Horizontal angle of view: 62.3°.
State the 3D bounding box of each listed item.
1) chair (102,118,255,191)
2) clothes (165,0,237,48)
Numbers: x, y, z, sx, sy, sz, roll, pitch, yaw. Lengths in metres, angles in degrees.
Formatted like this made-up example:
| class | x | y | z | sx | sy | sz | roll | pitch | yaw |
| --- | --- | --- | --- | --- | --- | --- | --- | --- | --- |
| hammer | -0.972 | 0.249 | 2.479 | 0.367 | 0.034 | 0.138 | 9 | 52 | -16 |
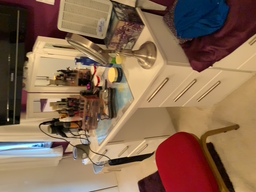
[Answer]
| class | x | y | z | sx | sy | sz | roll | pitch | yaw |
| --- | --- | --- | --- | --- | --- | --- | --- | --- | --- |
| chair | 0.350 | 0.520 | 1.290 | 0.460 | 0.800 | 0.580 | -51 | 48 | 47 |
| clothes | 0.330 | -0.420 | 1.020 | 0.260 | 0.090 | 0.250 | -54 | 46 | 45 |
